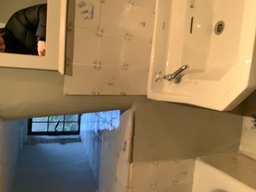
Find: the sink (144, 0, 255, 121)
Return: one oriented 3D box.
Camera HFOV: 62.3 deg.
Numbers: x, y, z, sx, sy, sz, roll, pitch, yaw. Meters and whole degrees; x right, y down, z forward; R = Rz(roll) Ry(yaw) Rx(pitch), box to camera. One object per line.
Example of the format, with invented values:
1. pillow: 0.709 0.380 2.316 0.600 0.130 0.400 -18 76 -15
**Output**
1. sink: 0.320 -0.300 0.840 0.460 0.270 0.700 -162 75 -65
